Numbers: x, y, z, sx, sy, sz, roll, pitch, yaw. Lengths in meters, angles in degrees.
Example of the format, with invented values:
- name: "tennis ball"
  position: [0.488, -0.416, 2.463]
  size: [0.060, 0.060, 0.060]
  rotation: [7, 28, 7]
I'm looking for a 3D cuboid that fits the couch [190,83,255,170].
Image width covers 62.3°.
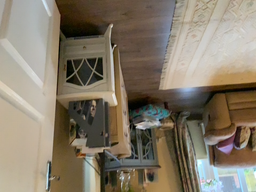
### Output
- name: "couch"
  position: [1.960, 0.450, 3.110]
  size: [1.730, 1.040, 0.940]
  rotation: [-6, 159, 3]

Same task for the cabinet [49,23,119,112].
- name: "cabinet"
  position: [-0.300, -0.200, 1.570]
  size: [0.420, 0.540, 0.310]
  rotation: [-5, 160, 0]

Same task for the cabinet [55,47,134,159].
- name: "cabinet"
  position: [-0.260, 0.170, 2.180]
  size: [0.550, 0.800, 1.090]
  rotation: [-5, 159, 1]

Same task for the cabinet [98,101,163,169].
- name: "cabinet"
  position: [0.060, 0.690, 3.500]
  size: [0.470, 0.920, 1.070]
  rotation: [-18, 155, 32]
